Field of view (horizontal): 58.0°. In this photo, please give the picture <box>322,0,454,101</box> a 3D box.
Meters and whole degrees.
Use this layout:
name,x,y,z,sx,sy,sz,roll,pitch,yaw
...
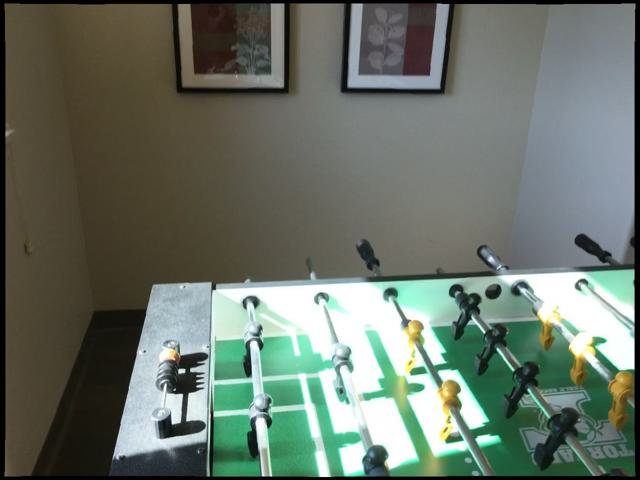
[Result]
name,x,y,z,sx,sy,sz,roll,pitch,yaw
picture,0.269,-0.822,2.330,0.499,0.491,0.090,-2,24,-10

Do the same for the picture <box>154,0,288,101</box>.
name,x,y,z,sx,sy,sz,roll,pitch,yaw
picture,-0.369,-0.782,2.200,0.489,0.481,0.050,-2,24,-10
